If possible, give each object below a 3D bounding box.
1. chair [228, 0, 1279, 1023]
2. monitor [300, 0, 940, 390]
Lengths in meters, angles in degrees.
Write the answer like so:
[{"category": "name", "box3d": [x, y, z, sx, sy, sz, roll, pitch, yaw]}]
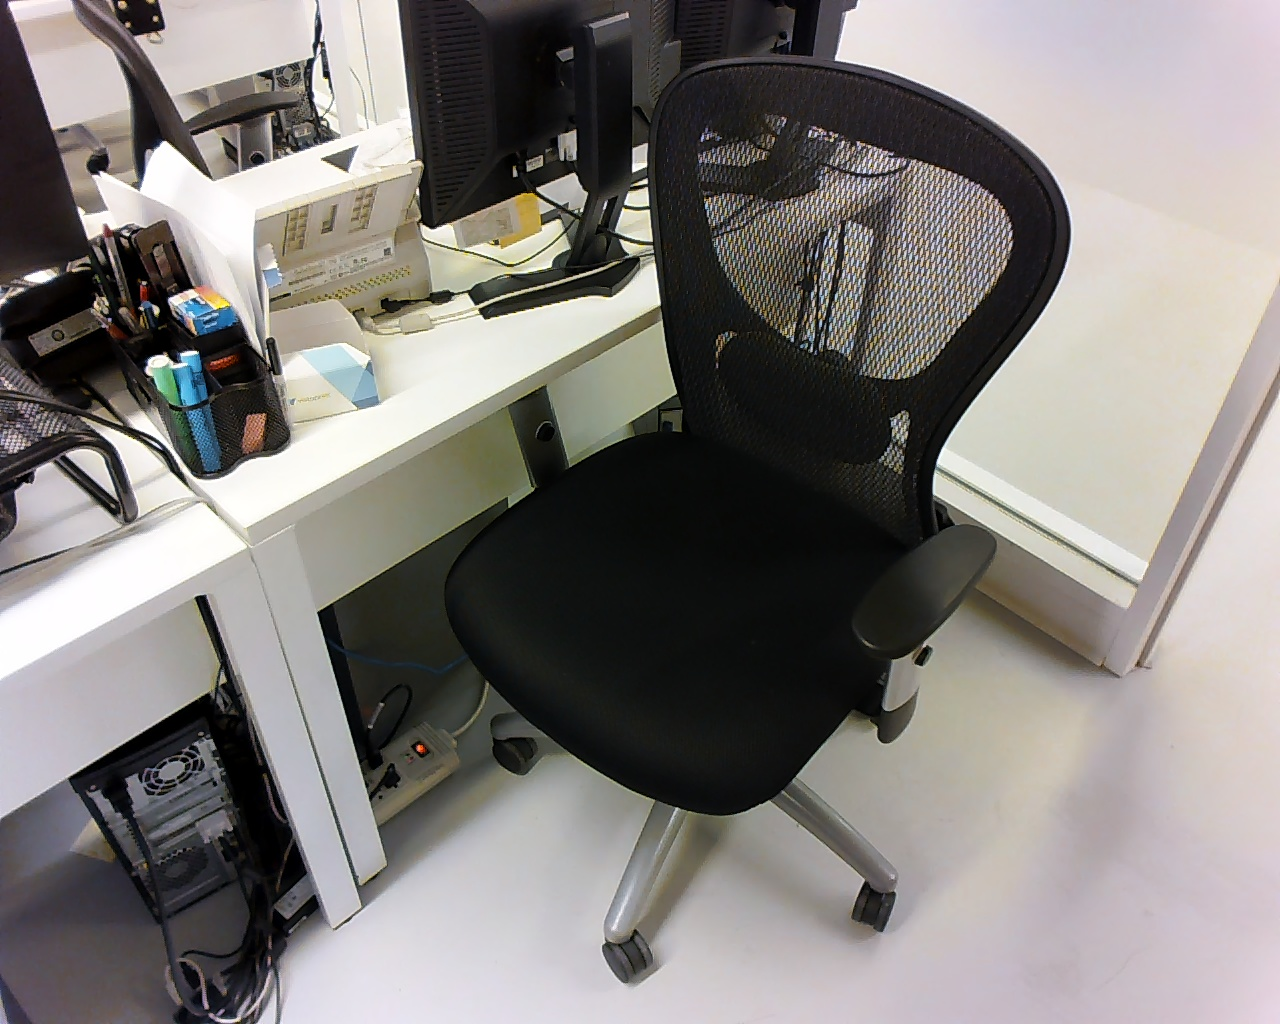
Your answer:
[{"category": "chair", "box3d": [0.140, 0.020, 1.400, 0.730, 1.070, 0.840, -33, 51, -31]}, {"category": "monitor", "box3d": [-0.010, -0.590, 1.420, 0.680, 0.480, 0.460, -31, 50, -30]}]
